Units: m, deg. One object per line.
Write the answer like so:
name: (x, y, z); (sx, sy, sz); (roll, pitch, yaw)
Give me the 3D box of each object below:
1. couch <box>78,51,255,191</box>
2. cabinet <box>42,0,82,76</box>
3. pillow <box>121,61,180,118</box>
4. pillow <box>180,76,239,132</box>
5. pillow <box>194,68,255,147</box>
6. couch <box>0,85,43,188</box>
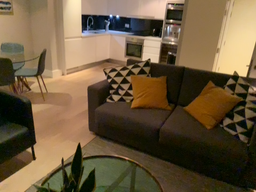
couch: (0.530, 0.160, 2.590); (1.990, 0.980, 1.040); (15, 24, 23)
cabinet: (-1.580, -1.640, 5.160); (0.620, 2.140, 0.620); (15, 24, 25)
pillow: (0.270, -0.070, 2.580); (0.510, 0.480, 0.150); (45, 15, -21)
pillow: (0.860, 0.070, 2.330); (0.130, 0.410, 0.510); (43, 16, -30)
pillow: (1.100, 0.100, 2.190); (0.190, 0.620, 0.540); (35, 19, -30)
couch: (-1.400, 0.380, 2.010); (0.740, 0.720, 0.760); (16, 25, 26)
